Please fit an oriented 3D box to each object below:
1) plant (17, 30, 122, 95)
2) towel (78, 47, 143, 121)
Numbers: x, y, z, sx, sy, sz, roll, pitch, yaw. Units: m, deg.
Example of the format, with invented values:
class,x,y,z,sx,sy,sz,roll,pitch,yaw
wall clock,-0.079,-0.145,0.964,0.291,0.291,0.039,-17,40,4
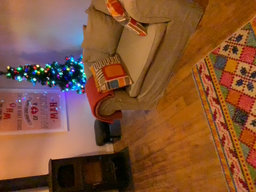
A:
class,x,y,z,sx,sy,sz,roll,pitch,yaw
plant,-0.970,-0.490,3.520,0.620,1.530,0.680,-51,45,51
towel,-0.240,-0.120,2.450,0.640,0.480,0.510,-63,35,40
